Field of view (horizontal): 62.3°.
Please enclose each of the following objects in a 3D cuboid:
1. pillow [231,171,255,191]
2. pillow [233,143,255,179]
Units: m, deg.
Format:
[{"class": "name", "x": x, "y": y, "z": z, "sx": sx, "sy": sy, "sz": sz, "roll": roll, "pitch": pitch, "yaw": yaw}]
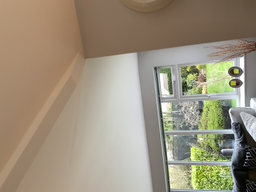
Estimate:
[{"class": "pillow", "x": 1.950, "y": 1.560, "z": 3.390, "sx": 0.200, "sy": 0.420, "sz": 0.690, "roll": -65, "pitch": -40, "yaw": -64}, {"class": "pillow", "x": 1.860, "y": 0.970, "z": 3.170, "sx": 0.180, "sy": 0.420, "sz": 0.490, "roll": -75, "pitch": -34, "yaw": -59}]
